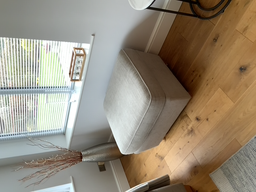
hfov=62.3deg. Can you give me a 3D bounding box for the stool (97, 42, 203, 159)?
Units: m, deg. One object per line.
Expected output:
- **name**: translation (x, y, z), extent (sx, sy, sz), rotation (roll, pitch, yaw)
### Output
- **stool**: translation (0.110, 0.030, 1.810), extent (0.630, 0.450, 0.710), rotation (61, 142, 40)
